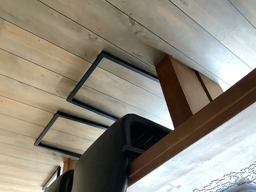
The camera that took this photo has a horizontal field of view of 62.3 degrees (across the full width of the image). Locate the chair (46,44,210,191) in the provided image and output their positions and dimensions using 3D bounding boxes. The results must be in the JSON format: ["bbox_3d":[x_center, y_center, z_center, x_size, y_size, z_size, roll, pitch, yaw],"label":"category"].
[{"bbox_3d":[-0.040,0.280,1.190,0.580,0.880,0.520,25,126,-31],"label":"chair"}]
